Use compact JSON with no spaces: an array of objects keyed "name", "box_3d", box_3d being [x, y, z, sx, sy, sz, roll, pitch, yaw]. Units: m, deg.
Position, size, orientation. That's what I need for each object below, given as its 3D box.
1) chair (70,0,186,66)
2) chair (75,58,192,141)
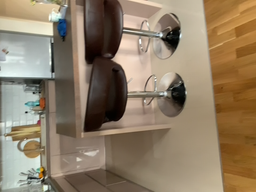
[{"name":"chair","box_3d":[0.000,-0.560,1.780,0.450,0.860,0.540,7,97,61]},{"name":"chair","box_3d":[0.040,0.000,1.750,0.420,0.840,0.540,15,104,60]}]
